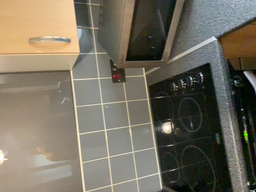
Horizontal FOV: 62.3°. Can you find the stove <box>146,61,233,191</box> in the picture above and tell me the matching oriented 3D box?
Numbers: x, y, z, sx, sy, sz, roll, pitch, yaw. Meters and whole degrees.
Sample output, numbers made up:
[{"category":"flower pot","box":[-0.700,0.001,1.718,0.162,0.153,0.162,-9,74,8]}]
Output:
[{"category":"stove","box":[0.250,0.190,1.030,0.540,0.010,0.580,161,103,-67]}]
